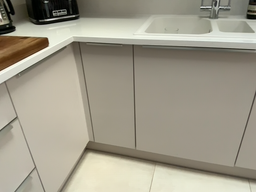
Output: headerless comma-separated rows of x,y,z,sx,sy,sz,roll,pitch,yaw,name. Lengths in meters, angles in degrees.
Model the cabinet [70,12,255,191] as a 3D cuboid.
0.800,0.030,1.320,2.090,0.920,0.590,7,31,14,cabinet
